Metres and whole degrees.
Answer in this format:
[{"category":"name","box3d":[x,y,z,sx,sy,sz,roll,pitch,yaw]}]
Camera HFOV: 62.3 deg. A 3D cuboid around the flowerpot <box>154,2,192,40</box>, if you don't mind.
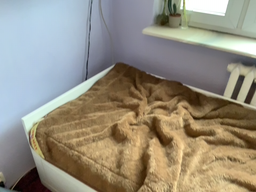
[{"category":"flowerpot","box3d":[0.340,-0.570,1.600,0.180,0.210,0.200,25,40,29]}]
